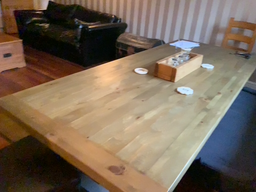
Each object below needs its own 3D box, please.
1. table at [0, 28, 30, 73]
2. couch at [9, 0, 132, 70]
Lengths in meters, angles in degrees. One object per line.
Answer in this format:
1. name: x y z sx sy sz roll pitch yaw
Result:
1. table: -2.320 -0.820 3.580 1.150 0.490 0.650 22 32 29
2. couch: -1.240 -1.430 4.470 2.300 0.890 1.230 23 33 31
